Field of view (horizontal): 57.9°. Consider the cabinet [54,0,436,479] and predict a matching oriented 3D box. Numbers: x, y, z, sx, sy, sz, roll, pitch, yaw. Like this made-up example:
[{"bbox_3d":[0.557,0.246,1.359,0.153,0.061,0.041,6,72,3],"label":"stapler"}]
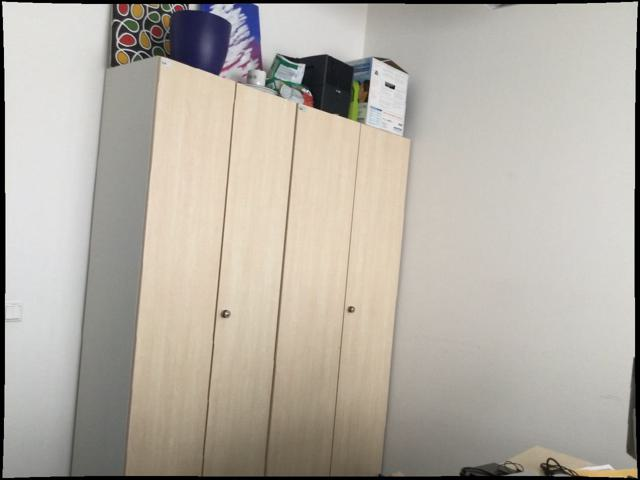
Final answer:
[{"bbox_3d":[-0.280,0.230,3.100,0.610,2.342,1.889,9,5,44],"label":"cabinet"}]
